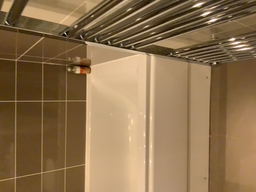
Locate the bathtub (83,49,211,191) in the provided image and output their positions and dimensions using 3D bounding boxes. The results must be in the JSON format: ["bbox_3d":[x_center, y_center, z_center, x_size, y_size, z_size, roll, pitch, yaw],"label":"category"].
[{"bbox_3d":[0.090,0.510,1.470,0.700,0.550,1.480,1,91,53],"label":"bathtub"}]
